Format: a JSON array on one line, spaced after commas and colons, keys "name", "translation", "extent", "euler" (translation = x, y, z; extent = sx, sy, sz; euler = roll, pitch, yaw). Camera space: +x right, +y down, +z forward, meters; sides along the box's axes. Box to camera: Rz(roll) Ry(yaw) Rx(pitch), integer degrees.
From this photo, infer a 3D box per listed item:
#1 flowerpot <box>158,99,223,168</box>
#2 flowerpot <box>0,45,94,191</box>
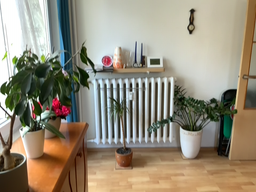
[{"name": "flowerpot", "translation": [0.800, 0.490, 2.850], "extent": [0.690, 0.810, 0.400], "euler": [1, 13, 0]}, {"name": "flowerpot", "translation": [-0.430, 0.140, 0.960], "extent": [0.440, 0.720, 0.530], "euler": [1, 13, 0]}]
